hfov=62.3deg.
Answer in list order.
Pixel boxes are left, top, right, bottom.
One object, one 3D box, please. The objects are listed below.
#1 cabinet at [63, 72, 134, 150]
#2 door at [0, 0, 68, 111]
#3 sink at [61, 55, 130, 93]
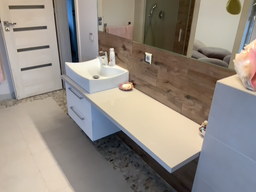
[{"bbox_3d":[-0.330,0.110,2.220,0.440,0.500,0.640,-14,31,-35],"label":"cabinet"},{"bbox_3d":[-1.370,-0.890,3.070,0.790,2.220,0.150,-16,32,-34],"label":"door"},{"bbox_3d":[-0.330,-0.240,2.060,0.420,0.130,0.590,-14,31,-35],"label":"sink"}]
